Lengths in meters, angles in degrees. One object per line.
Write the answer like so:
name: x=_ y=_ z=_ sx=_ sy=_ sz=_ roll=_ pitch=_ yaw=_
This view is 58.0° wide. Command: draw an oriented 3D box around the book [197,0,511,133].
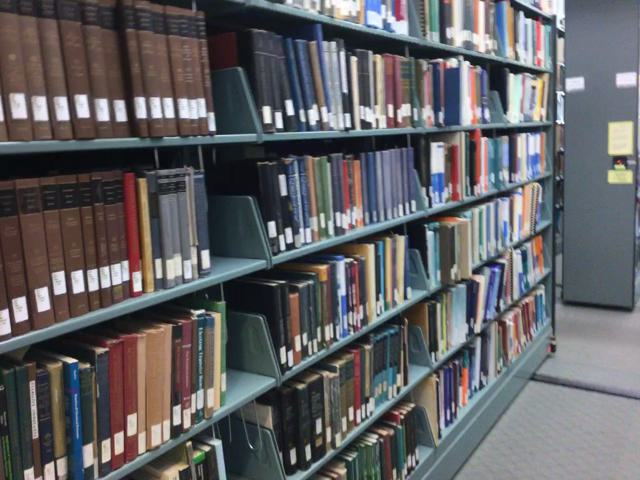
book: x=0.300 y=-0.560 z=2.070 sx=0.320 sy=0.290 sz=1.730 roll=0 pitch=8 yaw=32

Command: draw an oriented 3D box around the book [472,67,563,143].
book: x=1.100 y=-0.710 z=3.150 sx=0.260 sy=0.330 sz=0.810 roll=1 pitch=8 yaw=34

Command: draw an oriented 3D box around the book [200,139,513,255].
book: x=0.330 y=-0.230 z=2.180 sx=0.260 sy=0.270 sz=1.870 roll=1 pitch=8 yaw=34

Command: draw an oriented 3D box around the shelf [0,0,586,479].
shelf: x=-0.260 y=-0.160 z=2.490 sx=1.910 sy=2.580 sz=3.750 roll=1 pitch=8 yaw=35

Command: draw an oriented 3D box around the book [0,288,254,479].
book: x=-0.490 y=0.300 z=1.100 sx=0.320 sy=0.250 sz=0.740 roll=0 pitch=8 yaw=32
